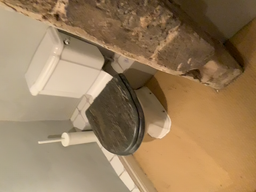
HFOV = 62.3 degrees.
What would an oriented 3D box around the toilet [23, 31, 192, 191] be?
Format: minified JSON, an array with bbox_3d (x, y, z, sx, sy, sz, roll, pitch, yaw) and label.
[{"bbox_3d":[-0.120,0.080,1.340,0.410,0.760,0.700,-49,56,25],"label":"toilet"}]
